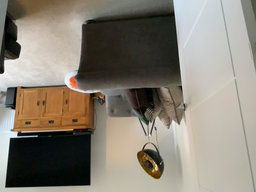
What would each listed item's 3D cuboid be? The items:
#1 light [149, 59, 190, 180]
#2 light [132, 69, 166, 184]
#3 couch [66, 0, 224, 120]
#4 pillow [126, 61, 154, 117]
[{"bbox_3d":[0.620,0.350,3.360,0.460,1.780,0.460,-3,166,5],"label":"light"},{"bbox_3d":[0.350,0.520,3.940,0.410,1.980,0.540,0,166,-6],"label":"light"},{"bbox_3d":[0.150,-0.230,2.400,1.120,0.730,1.670,-3,166,3],"label":"couch"},{"bbox_3d":[0.100,-0.050,2.040,0.200,0.450,0.400,-1,166,-4],"label":"pillow"}]
